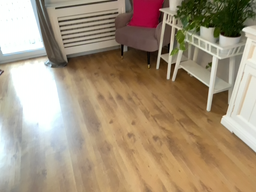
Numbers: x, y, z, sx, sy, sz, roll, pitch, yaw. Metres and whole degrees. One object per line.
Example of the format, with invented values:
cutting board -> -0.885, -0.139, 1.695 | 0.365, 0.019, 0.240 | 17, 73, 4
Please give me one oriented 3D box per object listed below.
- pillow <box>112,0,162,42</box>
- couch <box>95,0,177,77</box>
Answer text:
pillow -> 0.120, -1.120, 3.000 | 0.550, 0.420, 0.180 | 42, 34, -1
couch -> 0.130, -0.930, 3.000 | 0.790, 0.910, 0.730 | 21, 42, 31
